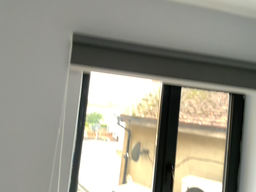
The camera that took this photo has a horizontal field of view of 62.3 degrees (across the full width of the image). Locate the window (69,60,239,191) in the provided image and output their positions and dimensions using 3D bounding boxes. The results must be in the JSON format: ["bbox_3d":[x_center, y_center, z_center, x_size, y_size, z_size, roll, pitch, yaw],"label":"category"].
[{"bbox_3d":[0.210,0.520,1.550,1.210,1.400,0.100,6,-3,-12],"label":"window"}]
